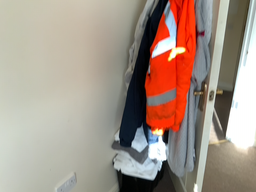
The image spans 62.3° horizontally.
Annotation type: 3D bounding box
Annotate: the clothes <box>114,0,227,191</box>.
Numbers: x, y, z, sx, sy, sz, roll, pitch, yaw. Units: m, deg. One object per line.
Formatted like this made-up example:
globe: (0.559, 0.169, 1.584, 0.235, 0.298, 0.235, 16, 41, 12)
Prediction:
clothes: (0.170, -0.070, 1.220, 0.430, 1.150, 0.460, -4, 23, -6)

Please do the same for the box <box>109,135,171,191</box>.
box: (0.100, 0.610, 1.710, 0.360, 0.390, 0.330, 14, 27, 31)
